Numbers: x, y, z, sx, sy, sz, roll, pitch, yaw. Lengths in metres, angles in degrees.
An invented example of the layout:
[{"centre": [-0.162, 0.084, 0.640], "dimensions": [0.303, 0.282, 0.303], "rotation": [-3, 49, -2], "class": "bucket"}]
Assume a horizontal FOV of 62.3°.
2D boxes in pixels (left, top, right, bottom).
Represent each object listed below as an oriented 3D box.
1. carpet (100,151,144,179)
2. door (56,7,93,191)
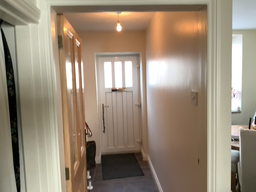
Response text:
[{"centre": [-0.150, 1.190, 3.770], "dimensions": [0.680, 0.060, 0.990], "rotation": [-2, 5, -7], "class": "carpet"}, {"centre": [-0.410, 0.390, 1.820], "dimensions": [0.100, 1.970, 0.820], "rotation": [-2, 5, -5], "class": "door"}]
